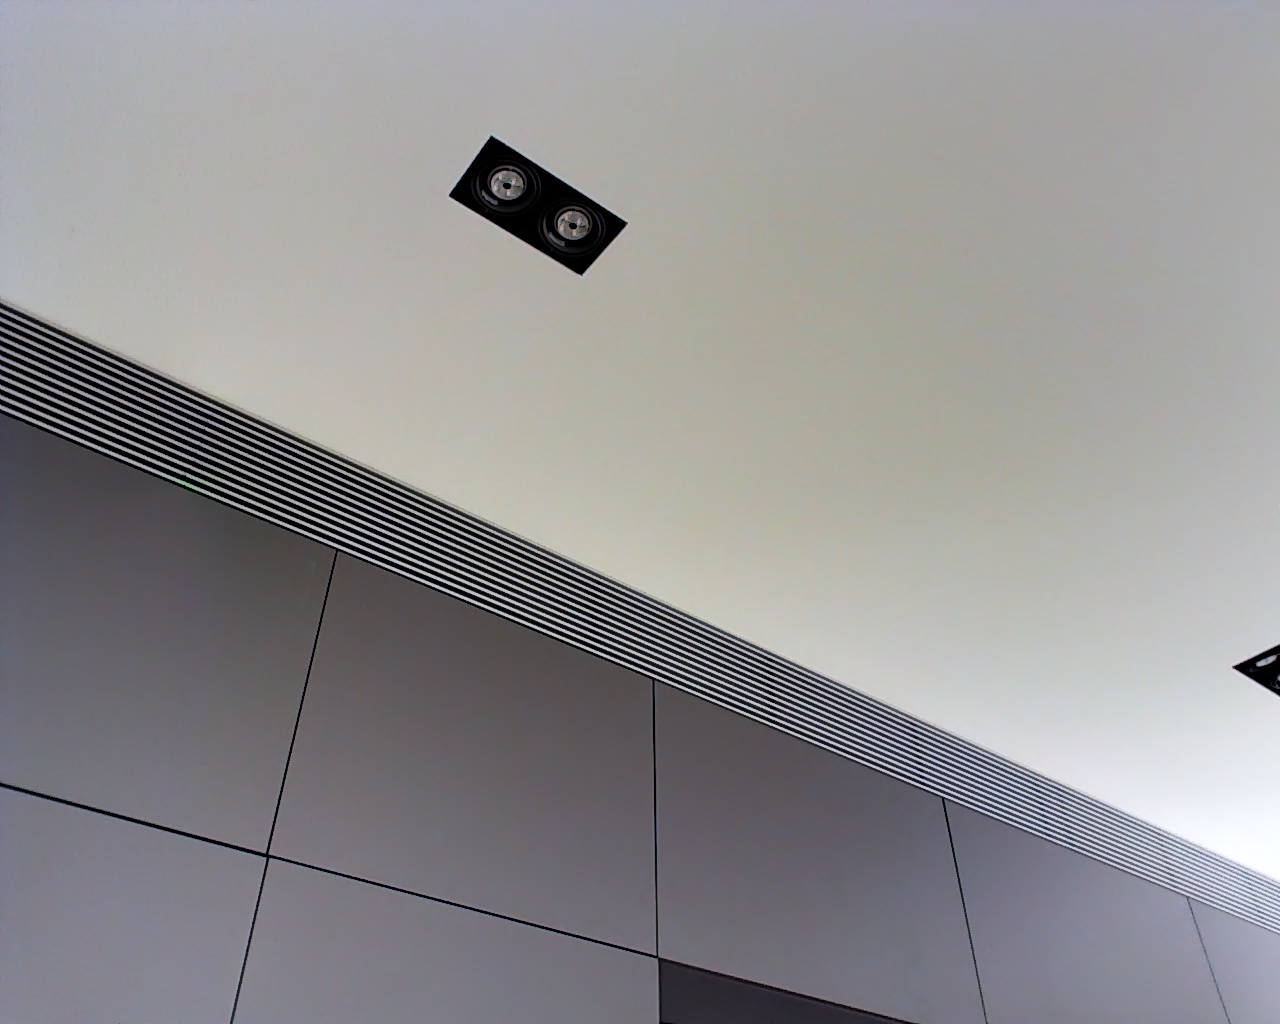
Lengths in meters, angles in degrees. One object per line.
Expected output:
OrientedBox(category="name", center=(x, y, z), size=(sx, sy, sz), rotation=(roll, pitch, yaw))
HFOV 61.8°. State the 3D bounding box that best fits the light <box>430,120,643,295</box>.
OrientedBox(category="light", center=(-0.130, -0.380, 1.360), size=(0.230, 0.010, 0.140), rotation=(26, -47, -27))
